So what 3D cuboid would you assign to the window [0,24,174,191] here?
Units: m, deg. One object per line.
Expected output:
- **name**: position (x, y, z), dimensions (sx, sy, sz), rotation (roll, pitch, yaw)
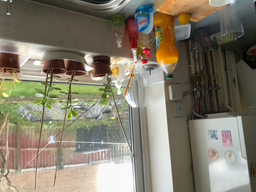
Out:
- **window**: position (-0.350, 0.280, 1.010), dimensions (1.270, 1.050, 0.340), rotation (2, 172, -38)
